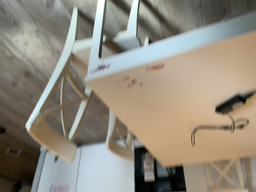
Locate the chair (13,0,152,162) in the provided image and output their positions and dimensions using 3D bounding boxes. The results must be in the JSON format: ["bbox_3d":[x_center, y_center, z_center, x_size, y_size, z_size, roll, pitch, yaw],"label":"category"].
[{"bbox_3d":[-0.180,-0.140,1.300,0.550,0.930,0.420,-7,144,10],"label":"chair"}]

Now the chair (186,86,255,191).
[{"bbox_3d":[0.910,0.440,2.130,0.410,0.910,0.560,-1,144,3],"label":"chair"}]
